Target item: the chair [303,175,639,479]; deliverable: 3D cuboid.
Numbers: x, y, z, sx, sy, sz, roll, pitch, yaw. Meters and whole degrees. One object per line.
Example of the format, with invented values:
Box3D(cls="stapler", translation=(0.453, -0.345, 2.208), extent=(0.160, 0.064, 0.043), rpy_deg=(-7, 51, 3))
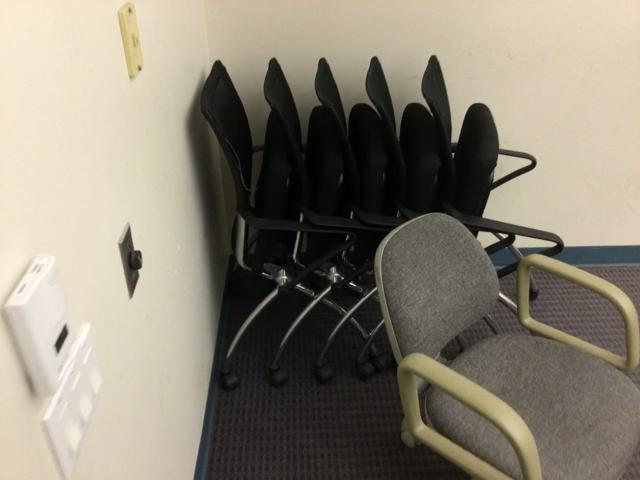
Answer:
Box3D(cls="chair", translation=(0.460, 0.390, 1.390), extent=(0.640, 0.790, 0.630), rpy_deg=(18, 41, 36))
